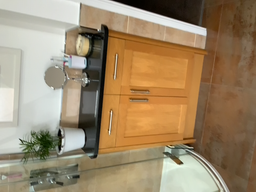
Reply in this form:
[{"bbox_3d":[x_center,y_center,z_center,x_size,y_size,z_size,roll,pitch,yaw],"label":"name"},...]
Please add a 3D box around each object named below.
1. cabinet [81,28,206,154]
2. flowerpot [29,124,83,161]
[{"bbox_3d":[0.150,-0.030,1.790,0.340,0.950,0.840,15,101,57],"label":"cabinet"},{"bbox_3d":[-0.520,0.320,1.530,0.210,0.320,0.180,15,101,57],"label":"flowerpot"}]
